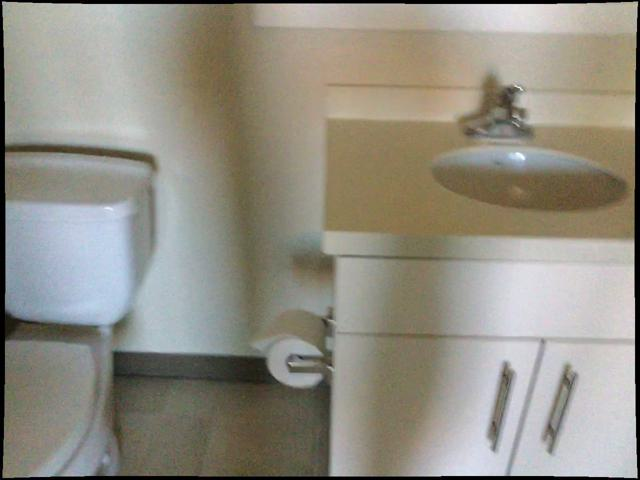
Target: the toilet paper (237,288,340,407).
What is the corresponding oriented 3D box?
[{"bbox_3d":[-0.060,0.230,1.260,0.200,0.170,0.180,2,31,2],"label":"toilet paper"}]
